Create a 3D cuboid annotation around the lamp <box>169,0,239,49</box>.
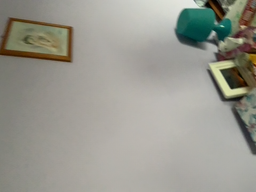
[{"bbox_3d":[0.440,-0.450,1.270,0.190,0.280,0.230,115,153,-48],"label":"lamp"}]
